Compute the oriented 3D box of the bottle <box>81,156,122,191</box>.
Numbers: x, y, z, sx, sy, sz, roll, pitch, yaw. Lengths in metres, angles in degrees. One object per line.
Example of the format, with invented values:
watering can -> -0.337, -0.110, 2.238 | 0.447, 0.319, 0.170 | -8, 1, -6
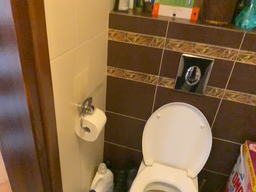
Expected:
bottle -> -0.170, 0.620, 1.370 | 0.150, 0.290, 0.300 | 13, 31, 11
